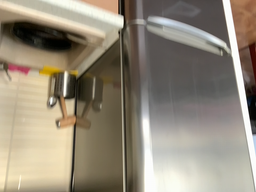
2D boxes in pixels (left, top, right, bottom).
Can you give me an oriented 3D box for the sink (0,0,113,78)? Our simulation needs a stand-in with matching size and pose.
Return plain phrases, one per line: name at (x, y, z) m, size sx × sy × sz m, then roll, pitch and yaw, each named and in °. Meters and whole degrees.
sink at (-0.360, -0.270, 0.930) m, size 0.380 × 0.170 × 0.550 m, roll 8°, pitch 163°, yaw -30°
